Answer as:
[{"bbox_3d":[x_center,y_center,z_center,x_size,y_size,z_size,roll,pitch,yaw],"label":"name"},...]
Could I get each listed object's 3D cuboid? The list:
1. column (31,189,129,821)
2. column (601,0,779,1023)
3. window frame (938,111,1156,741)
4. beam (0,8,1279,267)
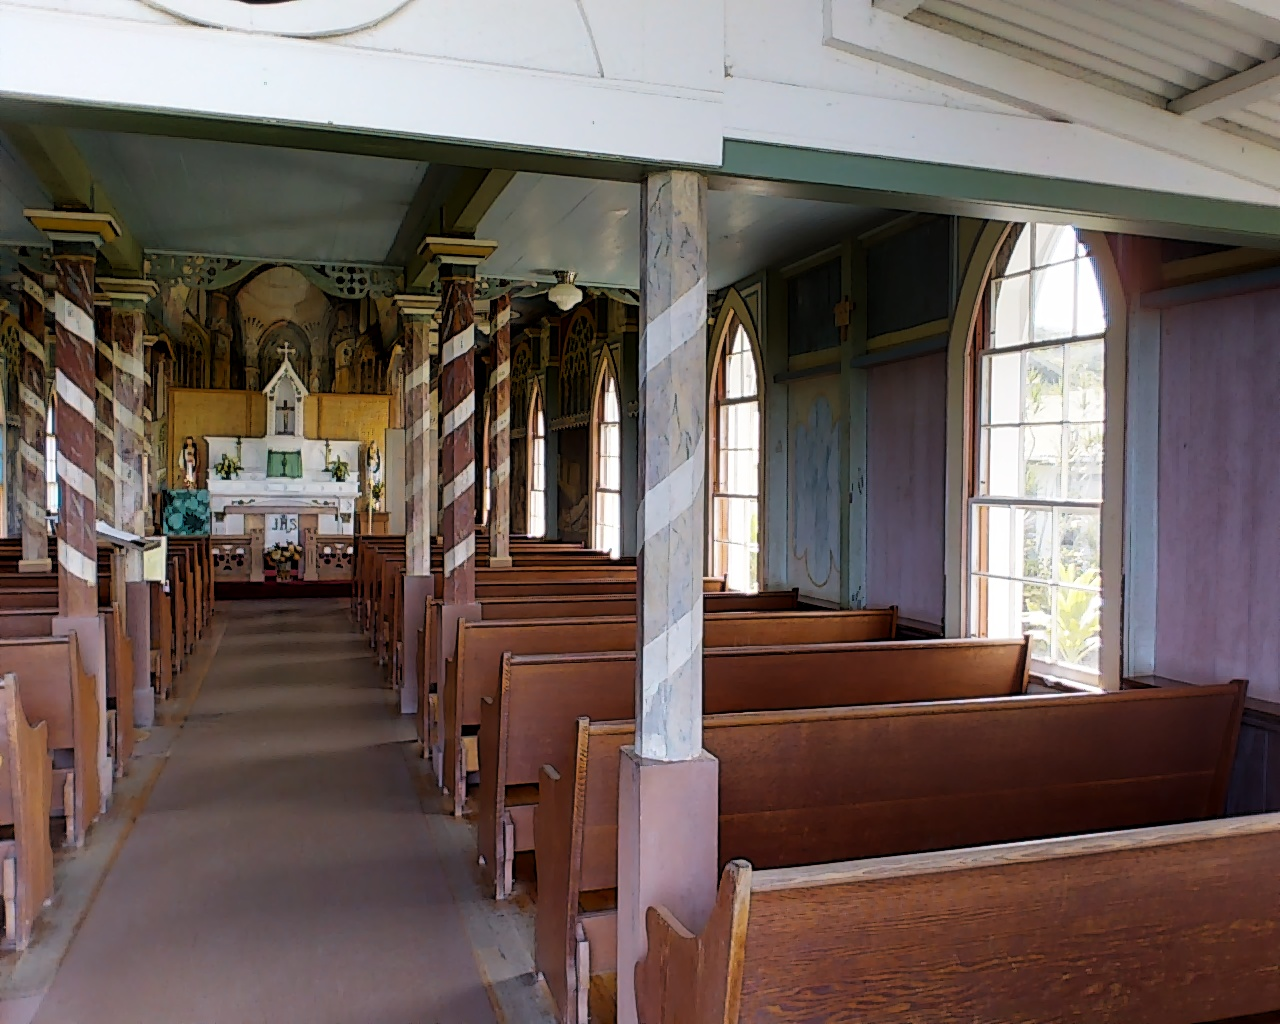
[{"bbox_3d":[-2.489,-0.020,4.810,0.320,2.701,0.350,0,2,-17],"label":"column"},{"bbox_3d":[0.100,0.080,2.370,0.290,2.691,0.240,0,2,-17],"label":"column"},{"bbox_3d":[1.620,-0.320,4.430,0.120,2.271,1.110,0,2,-17],"label":"window frame"},{"bbox_3d":[-0.510,-0.770,2.140,5.479,0.180,0.240,0,2,-17],"label":"beam"}]
